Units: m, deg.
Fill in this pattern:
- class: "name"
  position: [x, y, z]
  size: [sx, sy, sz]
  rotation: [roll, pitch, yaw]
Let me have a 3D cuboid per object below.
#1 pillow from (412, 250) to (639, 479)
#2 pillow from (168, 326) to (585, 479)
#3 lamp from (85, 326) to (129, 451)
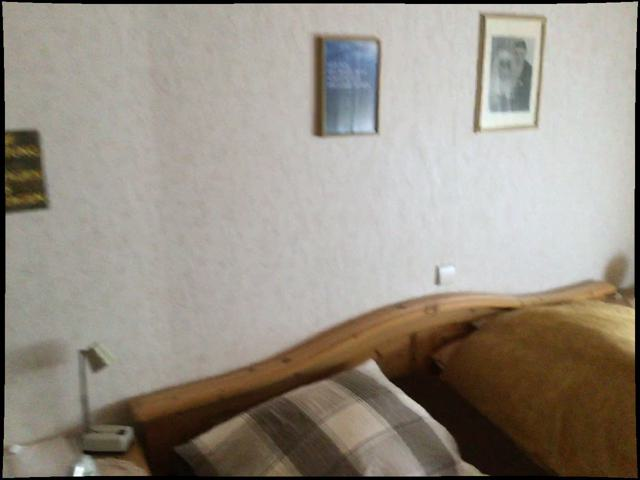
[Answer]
- class: "pillow"
  position: [1.059, 0.420, 1.970]
  size: [1.119, 0.320, 0.950]
  rotation: [-10, 21, -26]
- class: "pillow"
  position: [0.100, 0.611, 1.610]
  size: [0.829, 0.260, 0.790]
  rotation: [-10, 21, -26]
- class: "lamp"
  position: [-0.609, 0.420, 1.650]
  size: [0.060, 0.300, 0.160]
  rotation: [-10, 21, -26]
